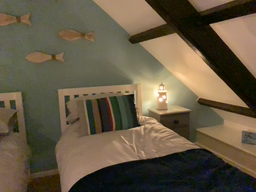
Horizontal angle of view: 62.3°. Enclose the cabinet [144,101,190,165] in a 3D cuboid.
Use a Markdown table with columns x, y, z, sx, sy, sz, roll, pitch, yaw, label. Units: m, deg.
| x | y | z | sx | sy | sz | roll | pitch | yaw | label |
| --- | --- | --- | --- | --- | --- | --- | --- | --- | --- |
| 0.490 | 0.440 | 2.720 | 0.440 | 0.670 | 0.370 | -6 | 10 | -22 | cabinet |
